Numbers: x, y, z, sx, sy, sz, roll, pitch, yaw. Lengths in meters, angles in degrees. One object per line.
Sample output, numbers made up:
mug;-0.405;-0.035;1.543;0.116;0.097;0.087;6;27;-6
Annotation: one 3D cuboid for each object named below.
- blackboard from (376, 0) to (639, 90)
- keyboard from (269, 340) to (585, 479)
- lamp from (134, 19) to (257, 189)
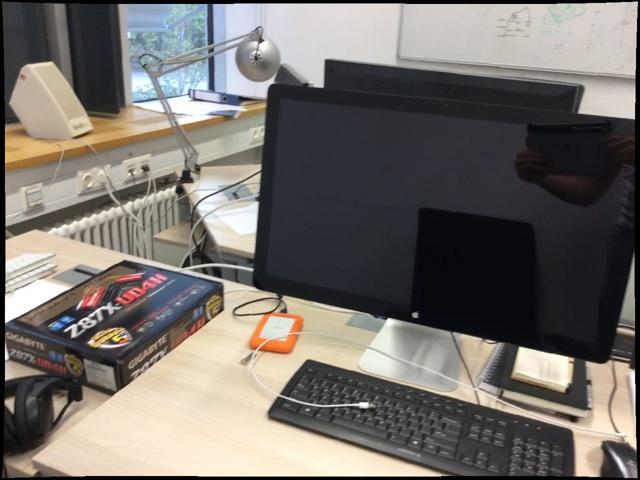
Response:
blackboard;0.909;-1.171;2.410;1.289;0.951;0.120;12;24;20
keyboard;0.180;0.290;0.960;0.480;0.020;0.220;12;24;20
lamp;-0.430;-0.490;2.050;0.350;0.530;0.210;-17;30;-40
